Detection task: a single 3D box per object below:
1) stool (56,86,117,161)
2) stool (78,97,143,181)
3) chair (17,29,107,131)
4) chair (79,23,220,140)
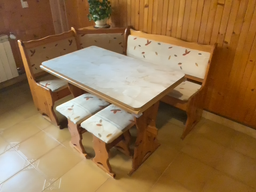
[{"bbox_3d":[-0.360,0.240,1.980,0.310,0.470,0.420,24,39,33],"label":"stool"},{"bbox_3d":[-0.130,0.350,1.810,0.310,0.470,0.420,24,39,33],"label":"stool"},{"bbox_3d":[-0.660,-0.210,2.360,0.440,0.830,0.730,24,39,32],"label":"chair"},{"bbox_3d":[0.140,-0.260,2.450,1.480,0.830,0.460,24,39,32],"label":"chair"}]
